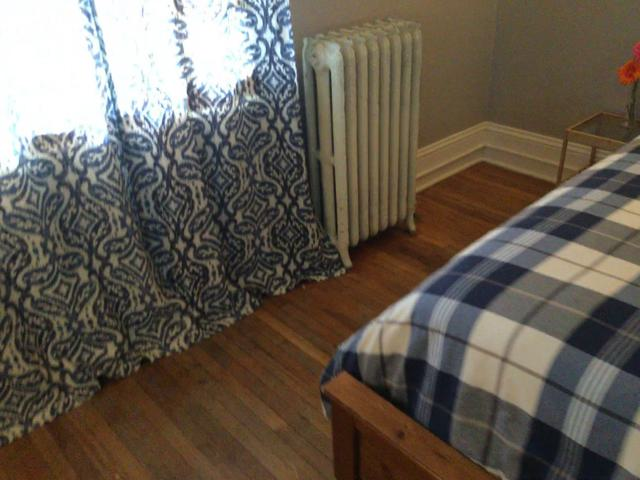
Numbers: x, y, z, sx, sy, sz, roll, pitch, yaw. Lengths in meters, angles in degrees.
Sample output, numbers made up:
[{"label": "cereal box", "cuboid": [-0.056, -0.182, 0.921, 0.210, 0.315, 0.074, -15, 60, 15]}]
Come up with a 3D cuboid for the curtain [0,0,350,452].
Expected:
[{"label": "curtain", "cuboid": [-0.630, -0.580, 1.700, 1.560, 2.140, 0.250, -26, 35, -33]}]

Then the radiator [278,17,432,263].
[{"label": "radiator", "cuboid": [0.180, -0.440, 2.480, 0.530, 0.880, 0.330, -28, 36, -35]}]
